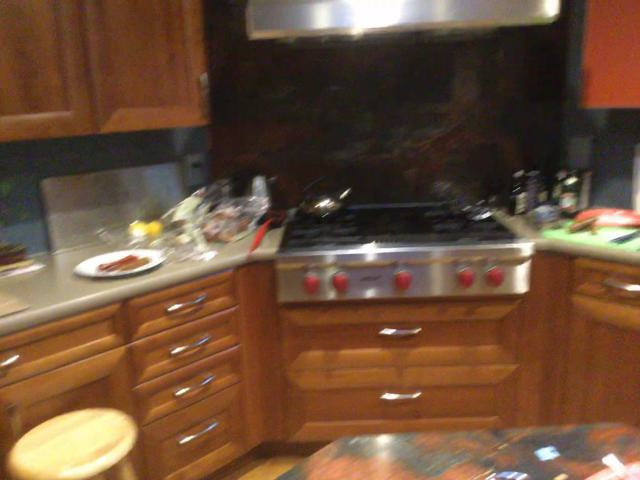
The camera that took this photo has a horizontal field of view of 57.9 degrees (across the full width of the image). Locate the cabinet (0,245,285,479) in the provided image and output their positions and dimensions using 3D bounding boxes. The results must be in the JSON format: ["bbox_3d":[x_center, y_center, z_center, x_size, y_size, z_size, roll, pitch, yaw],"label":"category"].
[{"bbox_3d":[-0.660,0.590,1.790,1.260,0.880,0.140,-16,21,-41],"label":"cabinet"}]

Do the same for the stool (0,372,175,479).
[{"bbox_3d":[-0.660,0.780,1.640,0.330,0.590,0.470,-16,21,-41],"label":"stool"}]

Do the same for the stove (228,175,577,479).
[{"bbox_3d":[0.300,0.310,2.380,1.130,1.010,0.740,-1,16,4],"label":"stove"}]
